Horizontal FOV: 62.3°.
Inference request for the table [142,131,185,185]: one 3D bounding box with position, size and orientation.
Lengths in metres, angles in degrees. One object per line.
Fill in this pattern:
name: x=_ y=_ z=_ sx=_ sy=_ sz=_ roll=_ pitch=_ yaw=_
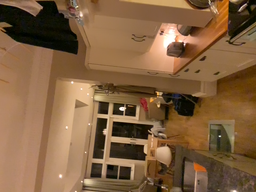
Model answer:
table: x=0.910 y=1.600 z=5.880 sx=1.720 sy=0.730 sz=1.000 roll=132 pitch=144 yaw=-86
